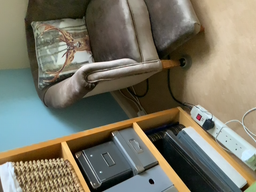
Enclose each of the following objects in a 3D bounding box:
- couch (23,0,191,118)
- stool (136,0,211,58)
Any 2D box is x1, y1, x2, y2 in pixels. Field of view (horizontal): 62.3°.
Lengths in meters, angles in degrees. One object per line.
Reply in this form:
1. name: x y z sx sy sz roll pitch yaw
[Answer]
1. couch: -0.190 -0.320 1.320 0.740 0.610 0.700 -23 80 53
2. stool: 0.220 -0.430 1.110 0.230 0.180 0.390 -28 75 52
